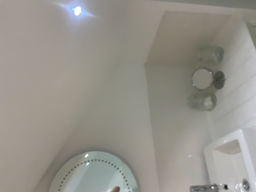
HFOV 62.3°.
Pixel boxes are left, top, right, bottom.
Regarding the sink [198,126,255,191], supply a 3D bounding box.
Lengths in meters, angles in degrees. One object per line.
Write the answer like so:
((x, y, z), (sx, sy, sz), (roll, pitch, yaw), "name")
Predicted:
((0.580, 0.470, 1.120), (0.460, 0.110, 0.500), (113, 155, -63), "sink")
